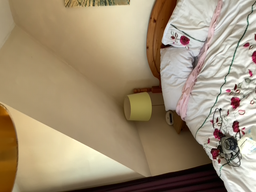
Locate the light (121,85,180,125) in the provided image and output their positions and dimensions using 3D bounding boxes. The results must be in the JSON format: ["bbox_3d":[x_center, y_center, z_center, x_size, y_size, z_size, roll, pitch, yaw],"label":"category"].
[{"bbox_3d":[0.250,0.090,2.630,0.480,0.600,0.310,-125,32,-70],"label":"light"}]
